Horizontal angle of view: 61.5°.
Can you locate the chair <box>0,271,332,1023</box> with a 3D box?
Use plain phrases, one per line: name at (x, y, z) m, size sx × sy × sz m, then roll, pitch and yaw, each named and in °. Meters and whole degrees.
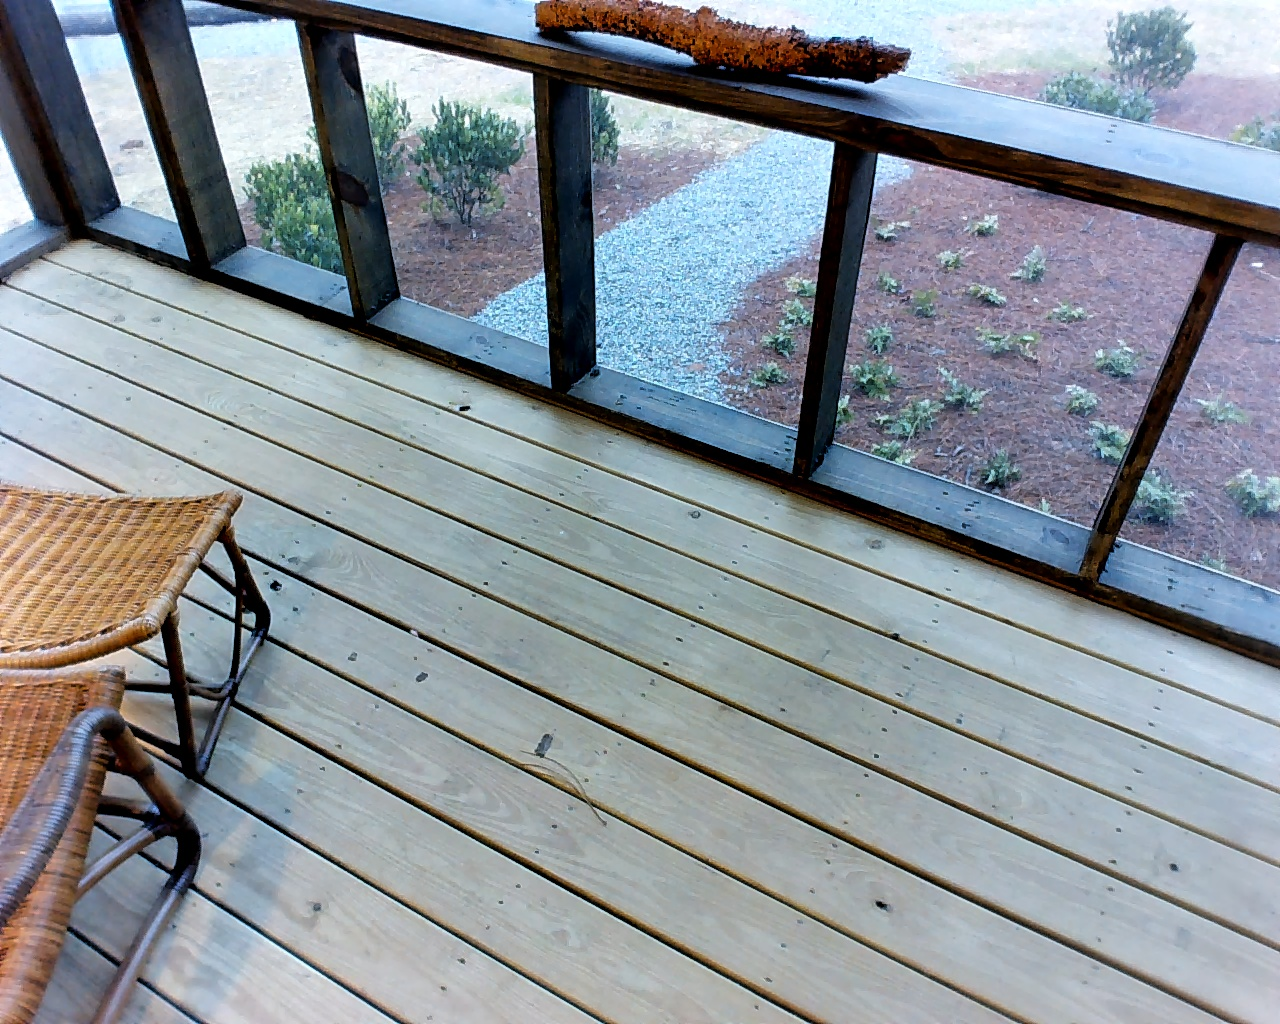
chair at (-1.000, 0.340, 1.420) m, size 0.720 × 0.740 × 1.280 m, roll 2°, pitch 43°, yaw 2°
